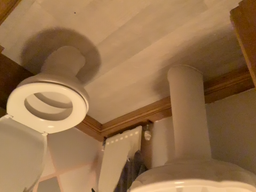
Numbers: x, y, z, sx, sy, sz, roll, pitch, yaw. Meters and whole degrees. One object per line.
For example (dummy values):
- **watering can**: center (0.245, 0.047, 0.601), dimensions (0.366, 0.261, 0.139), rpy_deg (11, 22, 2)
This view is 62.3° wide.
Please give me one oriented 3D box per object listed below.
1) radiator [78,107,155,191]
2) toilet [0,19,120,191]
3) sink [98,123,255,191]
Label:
- **radiator**: center (-0.090, 0.510, 1.580), dimensions (0.600, 0.720, 0.140), rpy_deg (-26, 130, 34)
- **toilet**: center (-0.490, 0.140, 1.180), dimensions (0.690, 0.800, 0.440), rpy_deg (-25, 132, 33)
- **sink**: center (0.250, 0.380, 0.920), dimensions (0.580, 0.170, 0.470), rpy_deg (-26, 130, 34)
